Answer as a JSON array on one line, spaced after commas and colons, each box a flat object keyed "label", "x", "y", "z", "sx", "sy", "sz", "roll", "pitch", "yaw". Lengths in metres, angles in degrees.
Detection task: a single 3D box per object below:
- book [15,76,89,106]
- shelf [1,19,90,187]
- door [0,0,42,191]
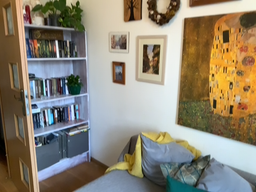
[{"label": "book", "x": -0.890, "y": -0.090, "z": 2.570, "sx": 0.380, "sy": 0.220, "sz": 0.740, "roll": 12, "pitch": 17, "yaw": 43}, {"label": "shelf", "x": -0.940, "y": 0.060, "z": 2.610, "sx": 0.330, "sy": 1.790, "sz": 0.850, "roll": 12, "pitch": 17, "yaw": 43}, {"label": "door", "x": -1.120, "y": 0.080, "z": 2.070, "sx": 0.120, "sy": 2.120, "sz": 0.840, "roll": -10, "pitch": 16, "yaw": -41}]
